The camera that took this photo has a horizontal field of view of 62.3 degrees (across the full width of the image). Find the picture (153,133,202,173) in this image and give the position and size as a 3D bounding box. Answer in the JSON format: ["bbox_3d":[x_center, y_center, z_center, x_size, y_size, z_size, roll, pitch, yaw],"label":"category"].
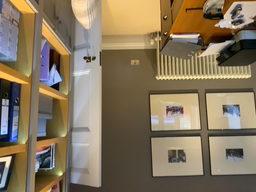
[{"bbox_3d":[0.780,0.900,3.370,0.760,0.590,0.030,-1,173,-1],"label":"picture"}]

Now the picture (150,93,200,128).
[{"bbox_3d":[0.760,0.230,3.450,0.790,0.560,0.050,-1,173,-1],"label":"picture"}]

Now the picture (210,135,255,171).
[{"bbox_3d":[1.700,0.900,3.360,0.770,0.530,0.030,-1,173,-2],"label":"picture"}]
